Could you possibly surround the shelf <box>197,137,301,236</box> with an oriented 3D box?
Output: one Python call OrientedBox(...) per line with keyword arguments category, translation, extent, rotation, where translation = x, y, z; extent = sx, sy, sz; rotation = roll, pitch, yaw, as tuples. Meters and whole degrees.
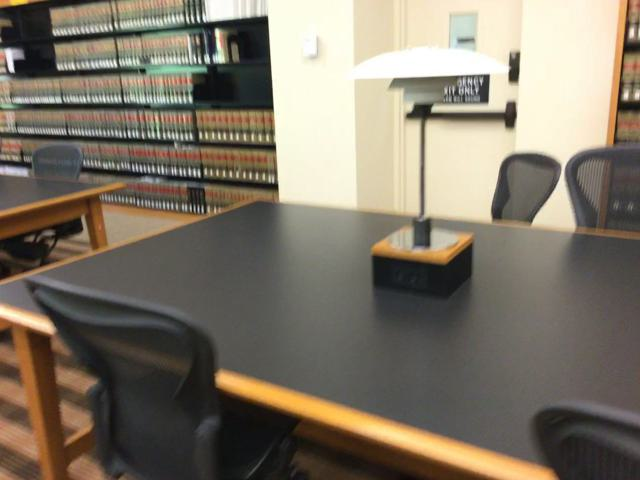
OrientedBox(category="shelf", translation=(-0.600, -0.480, 4.930), extent=(0.750, 0.730, 0.390), rotation=(8, 19, 30))
